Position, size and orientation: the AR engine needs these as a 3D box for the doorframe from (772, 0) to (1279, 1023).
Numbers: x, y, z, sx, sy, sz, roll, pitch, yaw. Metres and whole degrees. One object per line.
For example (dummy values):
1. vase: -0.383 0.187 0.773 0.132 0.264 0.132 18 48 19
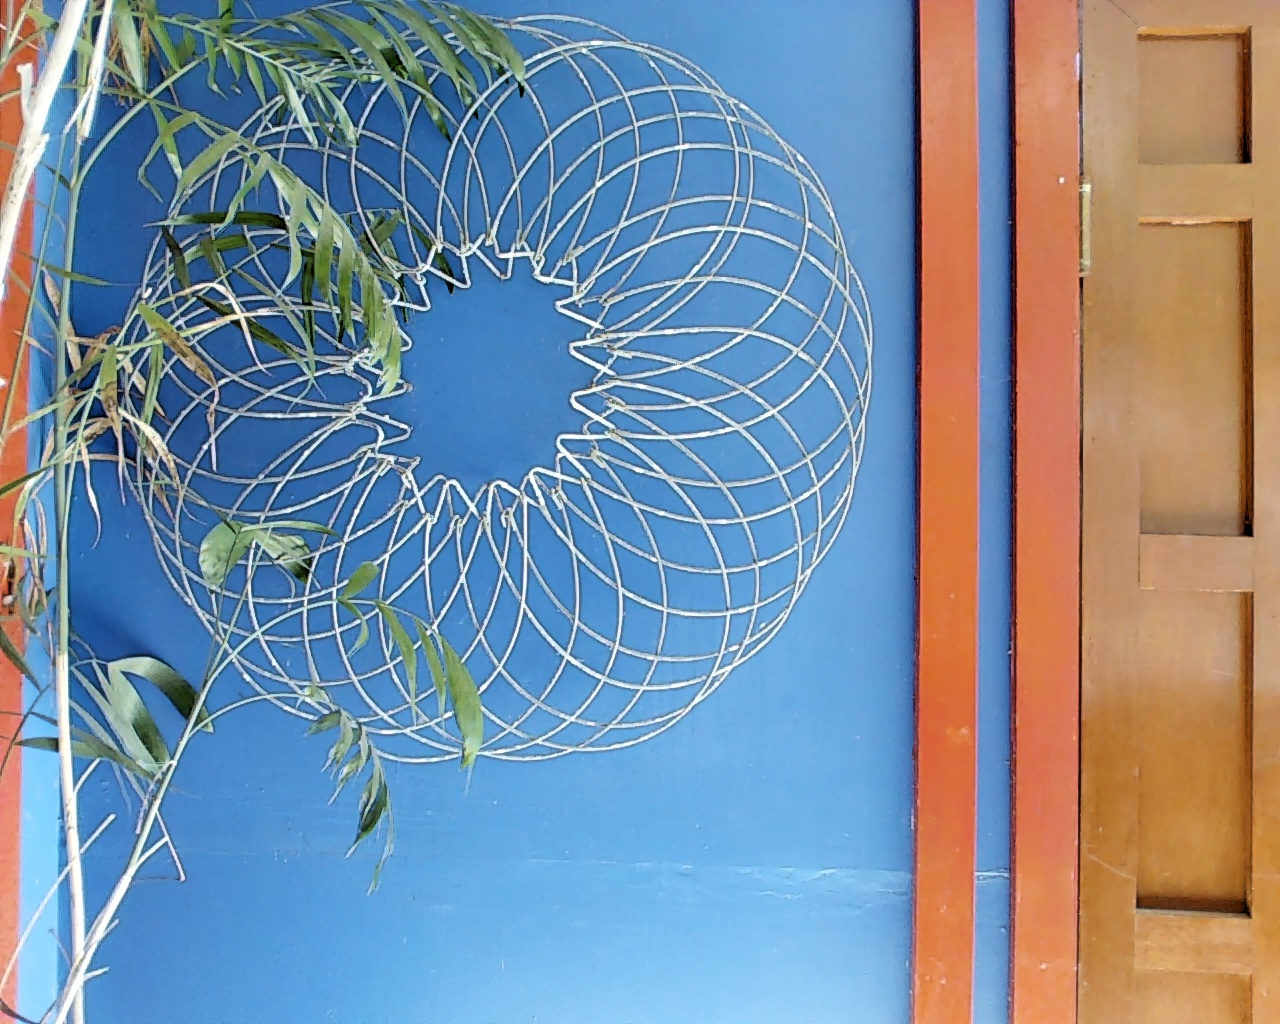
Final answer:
1. doorframe: 0.930 0.230 1.230 1.539 2.151 0.130 0 -1 4
